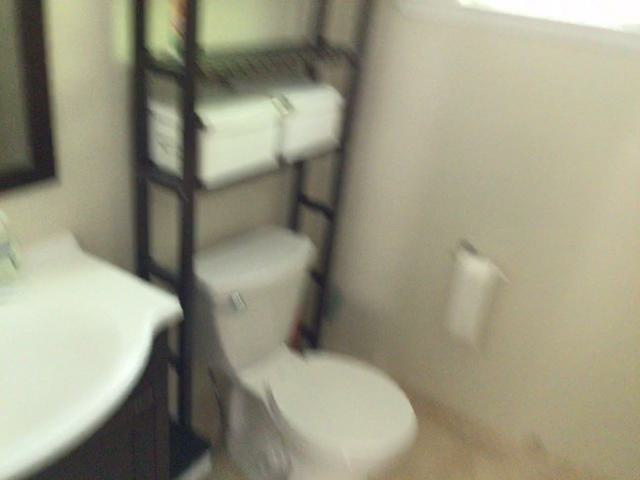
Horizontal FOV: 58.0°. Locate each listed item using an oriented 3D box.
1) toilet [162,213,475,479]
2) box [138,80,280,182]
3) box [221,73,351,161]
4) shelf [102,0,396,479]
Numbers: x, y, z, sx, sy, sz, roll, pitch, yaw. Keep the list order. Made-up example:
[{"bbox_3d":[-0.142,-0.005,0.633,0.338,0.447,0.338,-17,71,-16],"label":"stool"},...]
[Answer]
[{"bbox_3d":[-0.040,0.430,1.740,0.730,0.740,0.450,21,30,26],"label":"toilet"},{"bbox_3d":[-0.260,-0.270,1.380,0.200,0.150,0.260,21,30,26],"label":"box"},{"bbox_3d":[-0.090,-0.350,1.600,0.210,0.150,0.300,21,30,26],"label":"box"},{"bbox_3d":[-0.170,-0.140,1.650,0.290,1.800,0.780,21,30,26],"label":"shelf"}]
